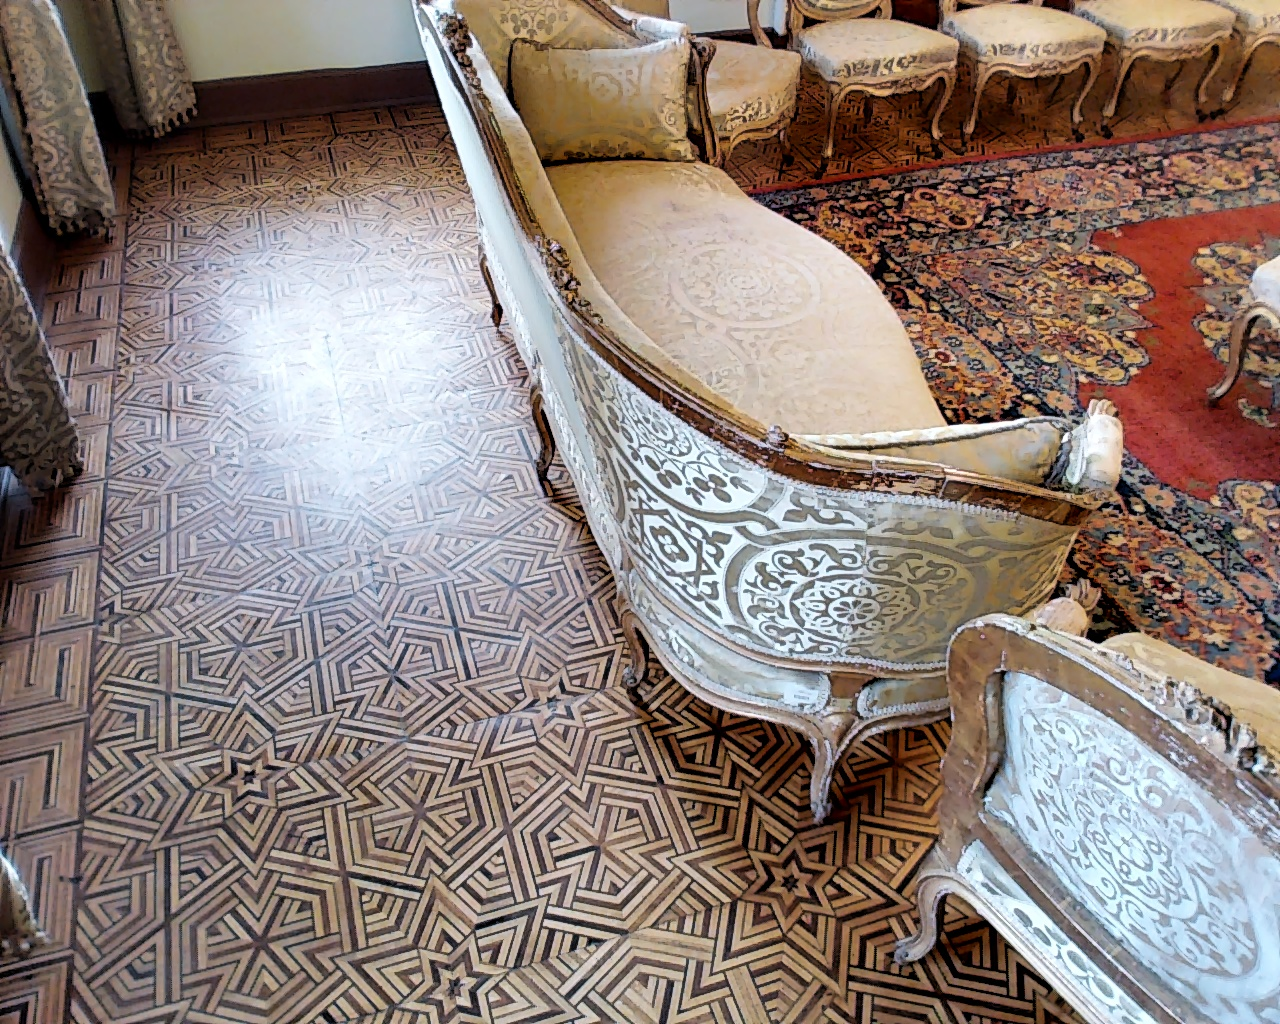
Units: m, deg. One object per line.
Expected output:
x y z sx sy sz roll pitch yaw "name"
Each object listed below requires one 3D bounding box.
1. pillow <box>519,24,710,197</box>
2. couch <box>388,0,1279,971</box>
-0.080 -1.160 3.120 0.480 0.340 0.180 10 36 -9 "pillow"
0.080 -0.560 2.440 1.020 1.160 2.540 -10 42 -11 "couch"
